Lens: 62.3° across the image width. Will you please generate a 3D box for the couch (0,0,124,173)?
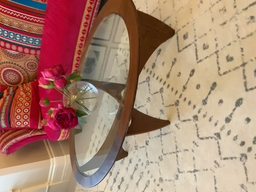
[{"bbox_3d":[-0.760,-0.610,1.980,1.030,0.770,2.470,46,126,41],"label":"couch"}]
